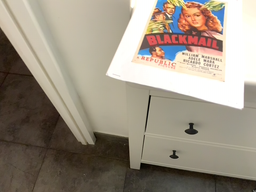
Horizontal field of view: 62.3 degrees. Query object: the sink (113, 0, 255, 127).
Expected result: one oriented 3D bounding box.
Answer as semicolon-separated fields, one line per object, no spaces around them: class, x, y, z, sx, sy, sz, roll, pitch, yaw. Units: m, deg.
sink;0.410;-0.160;0.500;0.810;0.150;0.470;7;60;4
